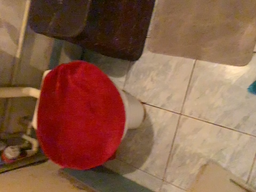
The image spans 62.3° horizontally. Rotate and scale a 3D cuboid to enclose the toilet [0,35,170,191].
[{"bbox_3d":[-0.320,0.060,0.870,0.650,0.890,0.460,16,96,27],"label":"toilet"}]
